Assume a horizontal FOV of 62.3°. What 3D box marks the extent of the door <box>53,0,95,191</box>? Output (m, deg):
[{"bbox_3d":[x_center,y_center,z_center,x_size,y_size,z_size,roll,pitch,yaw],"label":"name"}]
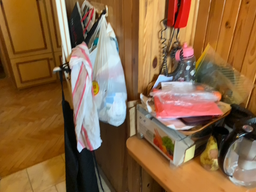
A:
[{"bbox_3d":[-0.330,-0.180,1.280,0.070,1.820,0.780,-7,30,-13],"label":"door"}]
